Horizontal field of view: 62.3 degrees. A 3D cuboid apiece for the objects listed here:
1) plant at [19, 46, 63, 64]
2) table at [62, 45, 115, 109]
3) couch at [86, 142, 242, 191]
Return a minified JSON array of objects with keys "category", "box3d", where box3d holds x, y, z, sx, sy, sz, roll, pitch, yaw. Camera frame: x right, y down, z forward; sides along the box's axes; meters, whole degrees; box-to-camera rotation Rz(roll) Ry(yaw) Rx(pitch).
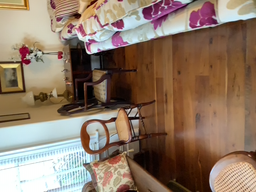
[{"category":"plant","box3d":[-1.390,-0.660,3.390,0.230,0.610,0.260,-164,70,-63]},{"category":"table","box3d":[-0.680,-0.350,3.630,0.510,0.720,0.980,-166,71,-63]},{"category":"couch","box3d":[0.280,0.950,1.770,1.780,0.770,0.530,9,104,64]}]
